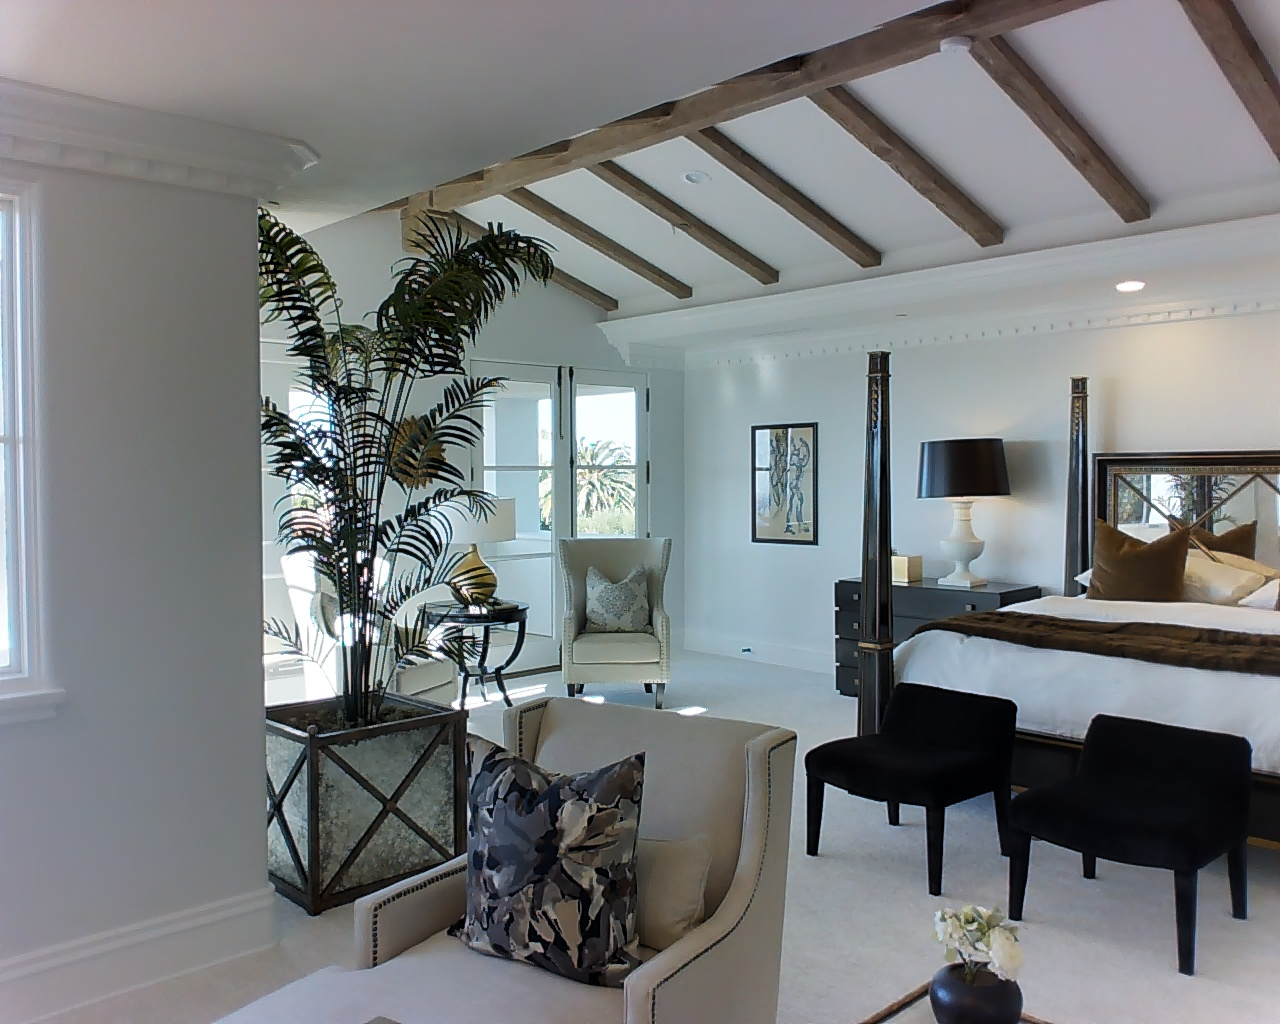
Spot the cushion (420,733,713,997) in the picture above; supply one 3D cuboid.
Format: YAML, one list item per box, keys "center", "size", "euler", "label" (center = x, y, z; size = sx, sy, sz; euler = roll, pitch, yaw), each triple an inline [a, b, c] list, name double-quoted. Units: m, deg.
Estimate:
- center: [-0.170, 0.790, 2.500]
  size: [0.550, 0.410, 0.330]
  euler: [-2, 8, 33]
  label: "cushion"

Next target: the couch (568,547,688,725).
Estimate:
- center: [-0.100, 0.840, 7.590]
  size: [0.790, 1.130, 0.860]
  euler: [-1, 2, -3]
  label: "couch"

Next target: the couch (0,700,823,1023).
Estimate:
- center: [-0.320, 1.070, 2.330]
  size: [0.890, 0.950, 1.630]
  euler: [0, 2, 30]
  label: "couch"

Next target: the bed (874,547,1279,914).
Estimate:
- center: [2.789, 0.880, 5.370]
  size: [2.310, 1.210, 2.240]
  euler: [-2, 2, -43]
  label: "bed"
